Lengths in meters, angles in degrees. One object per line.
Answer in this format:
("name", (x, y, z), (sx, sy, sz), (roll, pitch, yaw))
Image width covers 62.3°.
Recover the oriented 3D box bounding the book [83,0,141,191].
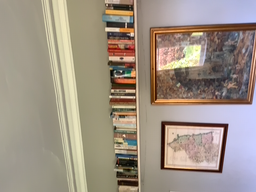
("book", (-0.090, 0.040, 1.770), (0.240, 0.310, 4.220), (-68, -24, -68))
